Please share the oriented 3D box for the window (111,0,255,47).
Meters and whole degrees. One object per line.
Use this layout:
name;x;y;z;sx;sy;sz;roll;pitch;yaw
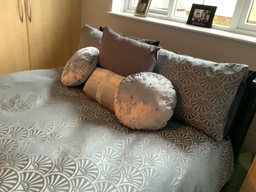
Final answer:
window;0.560;-0.990;1.650;1.770;0.940;0.090;27;32;34
